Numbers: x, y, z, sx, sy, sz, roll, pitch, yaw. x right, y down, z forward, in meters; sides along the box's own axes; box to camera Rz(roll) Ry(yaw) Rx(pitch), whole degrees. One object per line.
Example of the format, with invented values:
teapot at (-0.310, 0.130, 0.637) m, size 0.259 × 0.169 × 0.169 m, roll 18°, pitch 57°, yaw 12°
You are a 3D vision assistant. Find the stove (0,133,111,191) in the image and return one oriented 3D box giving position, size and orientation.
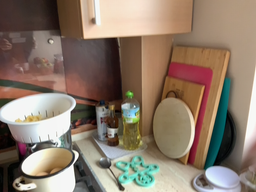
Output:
stove at (-0.400, 0.320, 0.690) m, size 0.590 × 0.040 × 0.550 m, roll -11°, pitch 20°, yaw -27°

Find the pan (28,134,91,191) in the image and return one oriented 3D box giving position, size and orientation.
pan at (-0.230, 0.260, 0.700) m, size 0.160 × 0.160 × 0.210 m, roll -9°, pitch 19°, yaw -23°
